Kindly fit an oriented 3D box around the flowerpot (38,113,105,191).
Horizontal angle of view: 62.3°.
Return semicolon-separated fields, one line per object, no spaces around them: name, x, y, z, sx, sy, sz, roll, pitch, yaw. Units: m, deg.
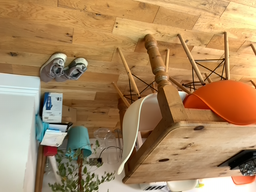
flowerpot;-0.560;0.840;2.060;0.550;1.290;0.460;4;142;-19
